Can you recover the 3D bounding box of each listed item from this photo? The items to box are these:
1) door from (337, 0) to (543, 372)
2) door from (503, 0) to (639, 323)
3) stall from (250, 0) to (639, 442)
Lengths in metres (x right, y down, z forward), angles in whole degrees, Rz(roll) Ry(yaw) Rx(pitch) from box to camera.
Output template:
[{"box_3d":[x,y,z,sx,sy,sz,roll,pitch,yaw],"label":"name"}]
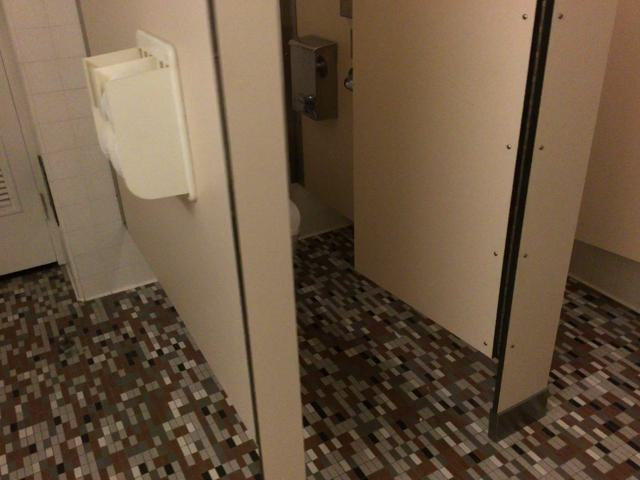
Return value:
[{"box_3d":[0.260,-0.380,1.500,0.050,1.380,0.640,-19,30,-29],"label":"door"},{"box_3d":[0.950,-0.550,1.820,0.100,1.660,0.620,-22,32,-34],"label":"door"},{"box_3d":[0.520,-0.390,2.130,0.970,1.330,1.390,-17,30,-26],"label":"stall"}]
